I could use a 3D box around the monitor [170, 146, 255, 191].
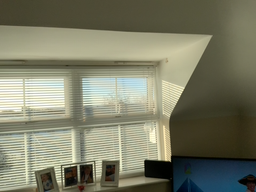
[{"bbox_3d":[0.910,0.860,1.700,1.150,0.730,0.040,3,-7,26],"label":"monitor"}]
